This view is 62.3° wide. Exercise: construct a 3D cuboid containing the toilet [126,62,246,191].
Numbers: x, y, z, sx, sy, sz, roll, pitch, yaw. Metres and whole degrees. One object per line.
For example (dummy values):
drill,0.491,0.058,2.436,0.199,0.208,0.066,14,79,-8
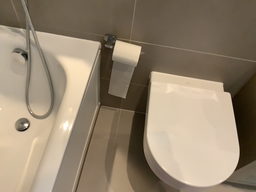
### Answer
toilet,0.230,0.220,1.070,0.380,0.470,0.540,10,56,-1
